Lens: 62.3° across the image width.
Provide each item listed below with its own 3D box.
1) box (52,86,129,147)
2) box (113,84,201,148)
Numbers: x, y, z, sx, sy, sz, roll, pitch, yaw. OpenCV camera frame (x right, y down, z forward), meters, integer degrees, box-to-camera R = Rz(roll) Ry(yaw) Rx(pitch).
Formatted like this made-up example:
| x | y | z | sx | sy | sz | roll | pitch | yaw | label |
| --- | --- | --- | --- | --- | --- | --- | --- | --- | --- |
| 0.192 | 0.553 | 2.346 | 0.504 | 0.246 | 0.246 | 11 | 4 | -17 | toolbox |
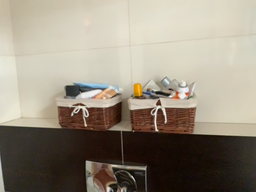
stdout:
| x | y | z | sx | sy | sz | roll | pitch | yaw | label |
| --- | --- | --- | --- | --- | --- | --- | --- | --- | --- |
| -0.150 | 0.070 | 0.890 | 0.250 | 0.210 | 0.180 | 0 | 7 | 22 | box |
| 0.120 | 0.060 | 0.810 | 0.290 | 0.190 | 0.190 | 0 | 7 | 22 | box |
